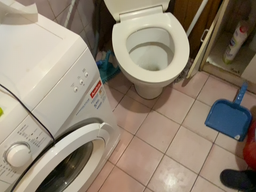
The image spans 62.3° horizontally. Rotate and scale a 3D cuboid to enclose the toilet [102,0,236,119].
[{"bbox_3d":[0.100,-0.370,1.090,0.400,0.830,0.630,-13,62,-2],"label":"toilet"}]
